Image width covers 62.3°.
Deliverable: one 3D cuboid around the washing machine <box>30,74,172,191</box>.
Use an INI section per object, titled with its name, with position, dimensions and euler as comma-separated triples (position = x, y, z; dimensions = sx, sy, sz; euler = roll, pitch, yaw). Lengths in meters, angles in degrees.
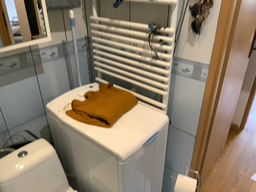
[washing machine]
position = -0.190, 0.420, 1.440
dimensions = 0.770, 0.880, 0.410
euler = 24, 37, 36
